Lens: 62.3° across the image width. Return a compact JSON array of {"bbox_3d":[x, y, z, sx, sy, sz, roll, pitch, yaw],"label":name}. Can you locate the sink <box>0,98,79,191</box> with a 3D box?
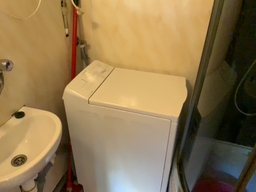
[{"bbox_3d":[-0.440,0.220,0.950,0.260,0.200,0.400,11,34,13],"label":"sink"}]
